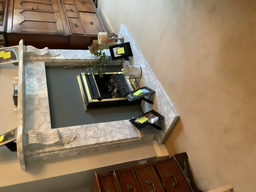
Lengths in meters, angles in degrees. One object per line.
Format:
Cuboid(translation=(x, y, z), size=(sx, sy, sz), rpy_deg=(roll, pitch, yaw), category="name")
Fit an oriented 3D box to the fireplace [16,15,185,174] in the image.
Cuboid(translation=(-0.410, -0.190, 2.140), size=(0.480, 1.220, 1.560), rpy_deg=(107, 149, -42), category="fireplace")
